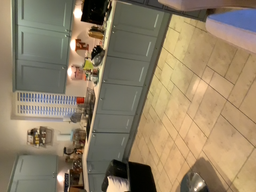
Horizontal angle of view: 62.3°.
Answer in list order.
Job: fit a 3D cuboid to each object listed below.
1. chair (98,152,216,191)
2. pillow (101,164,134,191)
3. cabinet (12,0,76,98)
[{"bbox_3d":[0.250,1.020,2.180,0.550,0.960,0.650,-113,34,-55],"label":"chair"},{"bbox_3d":[-0.120,0.940,2.130,0.280,0.140,0.380,31,120,38],"label":"pillow"},{"bbox_3d":[-1.300,-0.790,3.240,0.340,0.780,1.640,-114,35,-56],"label":"cabinet"}]
